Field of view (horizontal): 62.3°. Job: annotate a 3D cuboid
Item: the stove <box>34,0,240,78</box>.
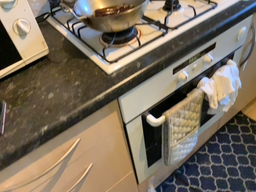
[{"bbox_3d":[0.010,-0.340,0.800,0.570,0.030,0.530,-33,50,-21],"label":"stove"}]
